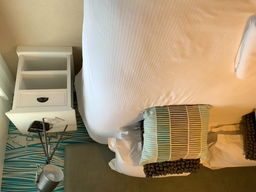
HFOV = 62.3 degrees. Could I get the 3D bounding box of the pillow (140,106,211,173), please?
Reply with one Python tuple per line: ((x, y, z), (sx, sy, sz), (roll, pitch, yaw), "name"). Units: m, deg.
((0.290, 0.250, 1.300), (0.400, 0.350, 0.130), (-2, -179, -16), "pillow")
